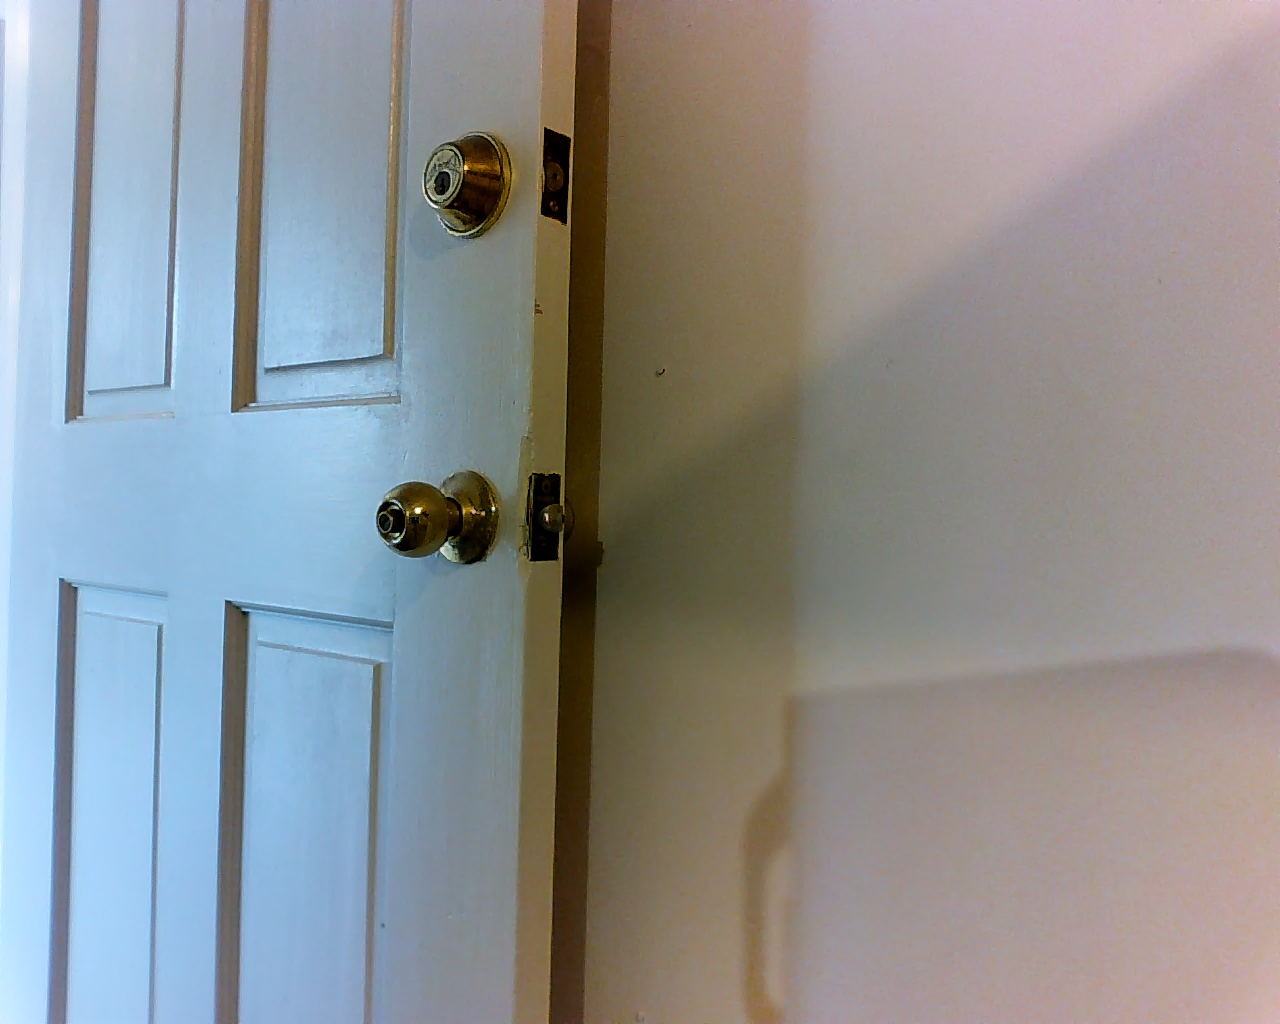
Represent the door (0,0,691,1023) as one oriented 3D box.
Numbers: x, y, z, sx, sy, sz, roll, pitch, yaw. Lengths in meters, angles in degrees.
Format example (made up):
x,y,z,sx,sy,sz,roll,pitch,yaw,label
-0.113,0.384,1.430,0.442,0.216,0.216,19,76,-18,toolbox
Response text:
x,y,z,sx,sy,sz,roll,pitch,yaw,label
-0.370,-0.270,0.990,0.850,2.211,0.270,1,0,42,door
